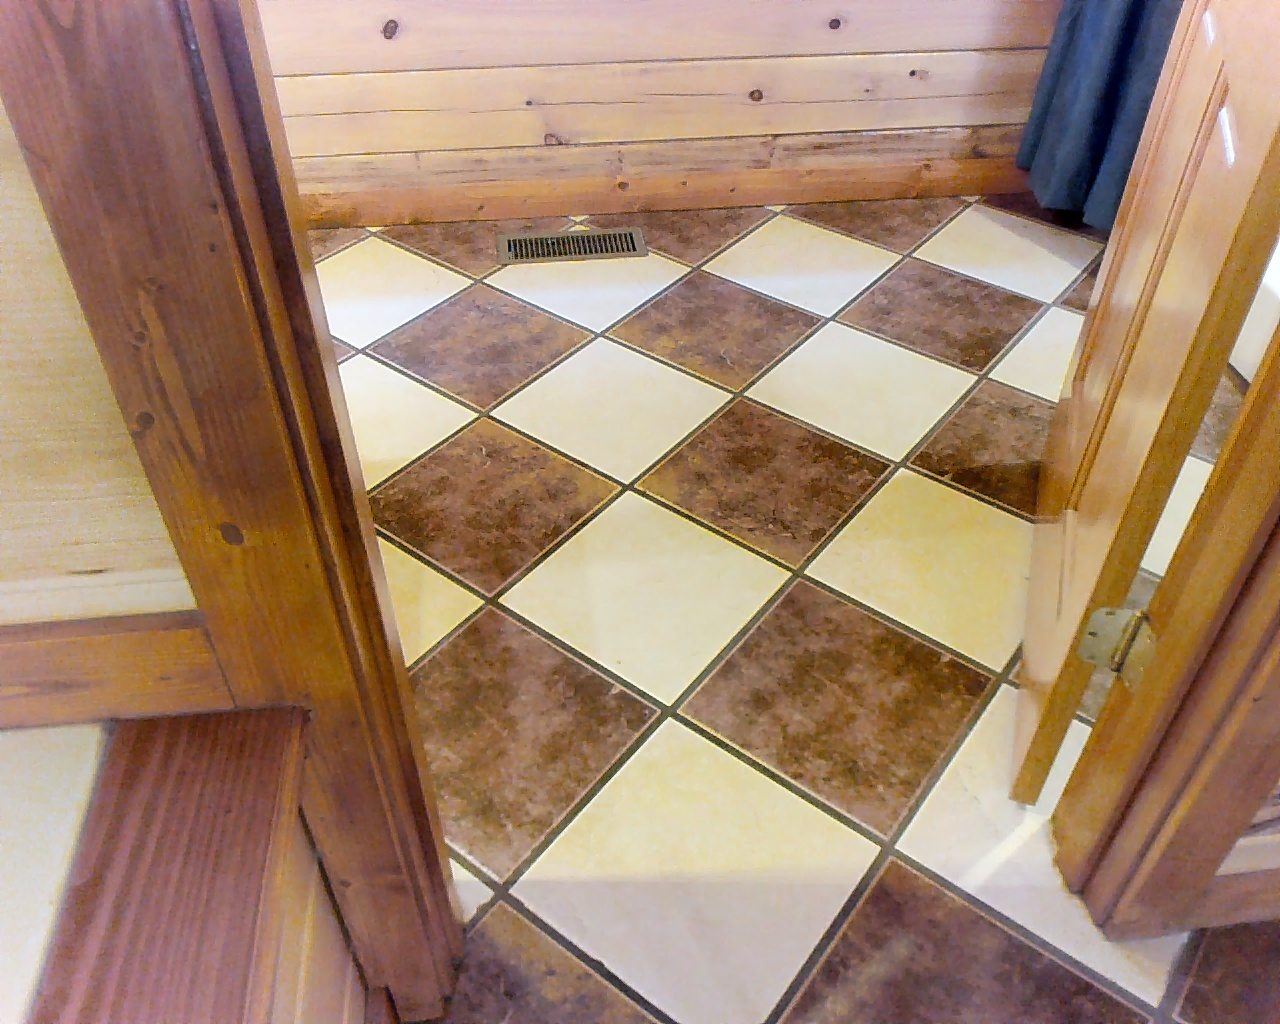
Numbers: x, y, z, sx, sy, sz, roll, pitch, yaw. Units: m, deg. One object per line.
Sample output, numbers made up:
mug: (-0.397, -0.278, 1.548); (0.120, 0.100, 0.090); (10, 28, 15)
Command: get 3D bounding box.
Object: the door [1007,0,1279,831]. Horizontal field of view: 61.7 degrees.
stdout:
door: (0.630, -0.630, 0.950); (0.080, 2.050, 0.810); (12, 43, 14)
